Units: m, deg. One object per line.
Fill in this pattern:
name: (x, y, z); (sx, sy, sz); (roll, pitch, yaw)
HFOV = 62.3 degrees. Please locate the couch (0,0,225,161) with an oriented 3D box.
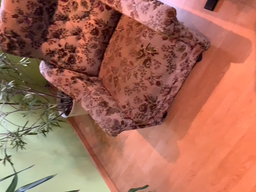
couch: (-0.180, -0.290, 1.300); (0.880, 0.920, 0.780); (43, 118, 38)
